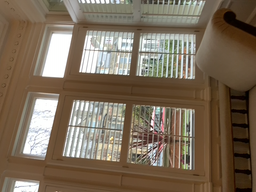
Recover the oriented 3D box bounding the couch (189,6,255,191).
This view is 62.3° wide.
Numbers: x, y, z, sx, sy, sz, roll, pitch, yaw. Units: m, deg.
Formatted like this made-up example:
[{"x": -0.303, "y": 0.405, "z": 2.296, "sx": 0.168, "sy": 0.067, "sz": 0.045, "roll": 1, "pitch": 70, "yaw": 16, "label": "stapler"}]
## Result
[{"x": 0.960, "y": 0.260, "z": 1.600, "sx": 0.790, "sy": 0.810, "sz": 1.570, "roll": 78, "pitch": -163, "yaw": -72, "label": "couch"}]
